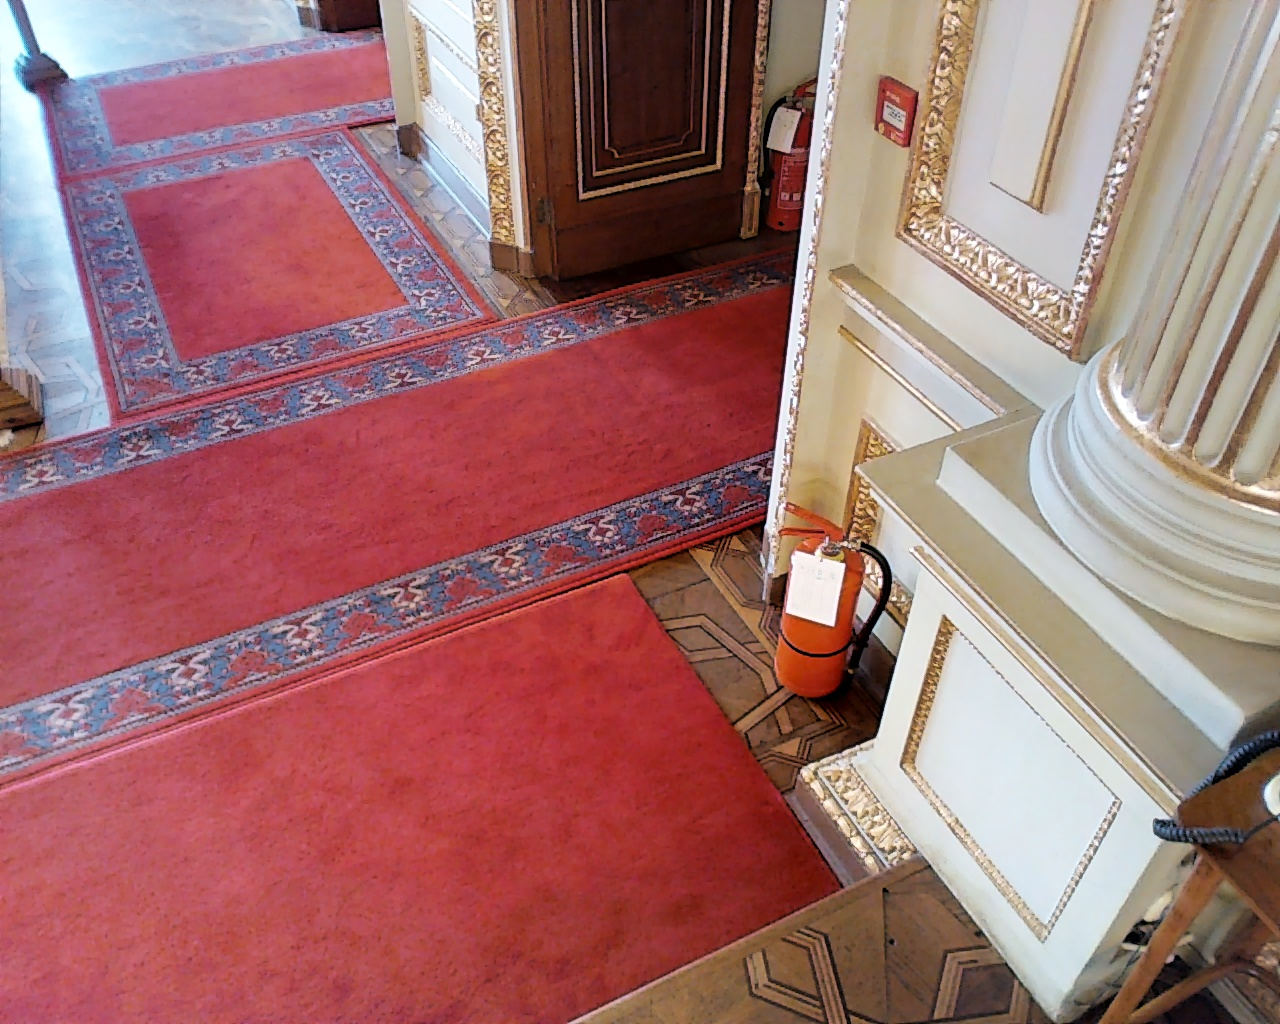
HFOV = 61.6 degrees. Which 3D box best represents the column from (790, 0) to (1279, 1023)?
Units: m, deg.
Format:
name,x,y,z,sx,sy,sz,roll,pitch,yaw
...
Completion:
name,x,y,z,sx,sy,sz,roll,pitch,yaw
column,0.630,-0.990,0.470,0.370,4.711,0.700,-18,44,-20
